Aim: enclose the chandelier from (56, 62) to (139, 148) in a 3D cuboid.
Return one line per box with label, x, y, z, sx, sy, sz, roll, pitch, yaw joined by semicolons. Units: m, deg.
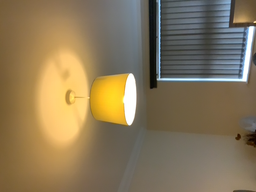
chandelier;-0.140;0.020;1.230;0.380;0.340;0.390;-49;139;-70
